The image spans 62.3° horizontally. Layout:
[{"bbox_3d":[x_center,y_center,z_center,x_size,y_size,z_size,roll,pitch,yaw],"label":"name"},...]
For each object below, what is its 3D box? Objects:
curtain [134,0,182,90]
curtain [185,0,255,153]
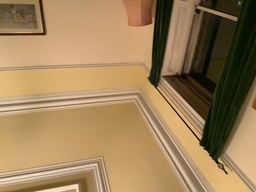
[{"bbox_3d":[0.460,-1.430,2.820,0.290,2.760,0.590,-6,-147,-19],"label":"curtain"},{"bbox_3d":[0.990,-0.730,1.650,0.270,2.790,0.440,-4,-147,-17],"label":"curtain"}]
